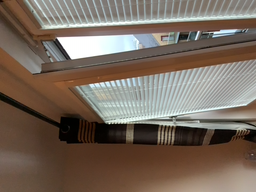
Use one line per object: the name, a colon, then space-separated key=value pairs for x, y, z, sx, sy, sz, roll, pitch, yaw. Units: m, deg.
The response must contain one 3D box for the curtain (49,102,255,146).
curtain: x=0.390 y=0.250 z=1.710 sx=0.550 sy=1.850 sz=0.240 roll=75 pitch=-166 yaw=-73
